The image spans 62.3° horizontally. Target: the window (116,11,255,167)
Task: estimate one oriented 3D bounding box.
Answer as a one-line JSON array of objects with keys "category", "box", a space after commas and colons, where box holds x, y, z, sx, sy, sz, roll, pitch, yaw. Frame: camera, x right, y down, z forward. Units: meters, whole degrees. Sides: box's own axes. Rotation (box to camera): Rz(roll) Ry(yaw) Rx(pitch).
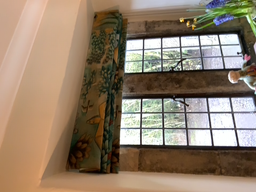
[{"category": "window", "box": [0.450, -0.120, 1.450, 0.060, 0.980, 1.130, 75, -164, -63]}]
